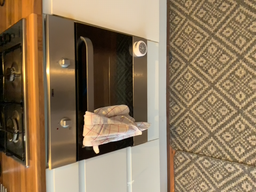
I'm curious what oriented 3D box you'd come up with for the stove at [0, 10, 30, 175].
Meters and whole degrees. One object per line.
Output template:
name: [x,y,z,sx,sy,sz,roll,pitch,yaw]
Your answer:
stove: [-0.590,-0.010,0.980,0.570,0.030,0.600,0,92,44]
